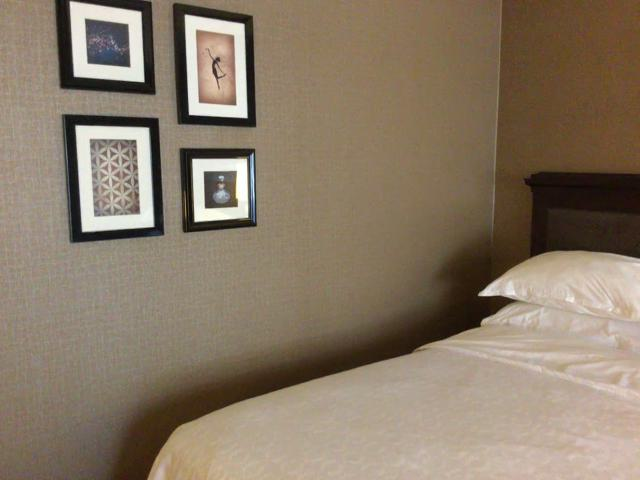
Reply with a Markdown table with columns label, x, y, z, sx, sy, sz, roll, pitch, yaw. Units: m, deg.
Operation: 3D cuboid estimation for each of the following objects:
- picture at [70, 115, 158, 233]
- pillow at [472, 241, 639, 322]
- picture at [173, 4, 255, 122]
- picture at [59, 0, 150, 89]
| label | x | y | z | sx | sy | sz | roll | pitch | yaw |
| --- | --- | --- | --- | --- | --- | --- | --- | --- | --- |
| picture | -0.690 | -0.220 | 1.950 | 0.270 | 0.380 | 0.020 | -4 | 6 | -33 |
| pillow | 1.100 | 0.150 | 2.360 | 0.470 | 0.220 | 0.800 | 2 | 3 | -34 |
| picture | -0.380 | -0.630 | 2.100 | 0.290 | 0.380 | 0.040 | -4 | 6 | -34 |
| picture | -0.700 | -0.640 | 1.890 | 0.270 | 0.260 | 0.030 | -4 | 6 | -33 |
